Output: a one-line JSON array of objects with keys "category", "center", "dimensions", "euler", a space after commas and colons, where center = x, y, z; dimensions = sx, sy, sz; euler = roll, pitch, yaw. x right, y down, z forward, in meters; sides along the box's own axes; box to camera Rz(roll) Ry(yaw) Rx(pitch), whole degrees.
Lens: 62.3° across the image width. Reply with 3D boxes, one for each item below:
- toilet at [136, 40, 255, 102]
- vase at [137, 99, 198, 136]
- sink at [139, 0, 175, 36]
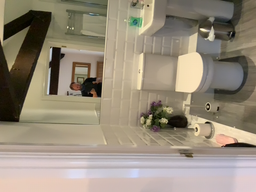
[{"category": "toilet", "center": [0.560, -0.200, 1.910], "dimensions": [0.630, 0.810, 0.400], "euler": [-161, 74, -78]}, {"category": "vase", "center": [0.380, 0.210, 2.150], "dimensions": [0.340, 0.490, 0.310], "euler": [-163, 77, -78]}, {"category": "sink", "center": [0.260, -0.860, 1.910], "dimensions": [0.420, 0.180, 0.530], "euler": [-161, 74, -78]}]
